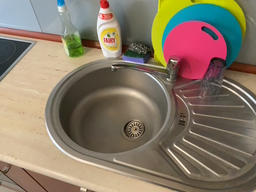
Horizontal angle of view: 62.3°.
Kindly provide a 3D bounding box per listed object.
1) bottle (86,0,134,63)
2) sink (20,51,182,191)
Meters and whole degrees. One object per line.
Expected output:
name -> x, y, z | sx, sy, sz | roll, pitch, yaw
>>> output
bottle -> -0.060, -0.270, 0.830 | 0.140, 0.260, 0.090 | 13, 52, 13
sink -> -0.060, 0.070, 0.830 | 0.450, 0.190, 0.440 | 12, 51, 12
